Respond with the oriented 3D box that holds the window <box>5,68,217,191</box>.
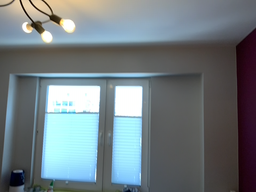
[{"bbox_3d":[-0.240,0.430,2.480,2.370,1.480,0.220,1,-6,9],"label":"window"}]
